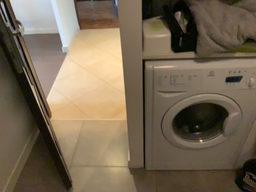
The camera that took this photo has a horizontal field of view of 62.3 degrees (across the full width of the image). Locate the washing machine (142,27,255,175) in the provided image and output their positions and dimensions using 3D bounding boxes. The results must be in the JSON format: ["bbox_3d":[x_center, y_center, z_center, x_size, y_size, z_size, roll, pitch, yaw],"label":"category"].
[{"bbox_3d":[0.390,0.070,1.340,0.590,0.840,0.440,-1,39,3],"label":"washing machine"}]
